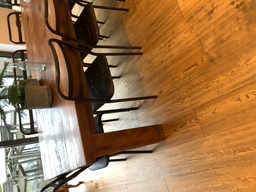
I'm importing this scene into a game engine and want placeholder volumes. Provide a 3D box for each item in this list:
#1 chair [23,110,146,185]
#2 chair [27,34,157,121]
[{"bbox_3d":[-0.370,0.430,1.920,0.440,0.930,0.440,-33,65,46],"label":"chair"},{"bbox_3d":[-0.290,-0.120,1.820,0.450,0.930,0.480,-33,66,46],"label":"chair"}]
